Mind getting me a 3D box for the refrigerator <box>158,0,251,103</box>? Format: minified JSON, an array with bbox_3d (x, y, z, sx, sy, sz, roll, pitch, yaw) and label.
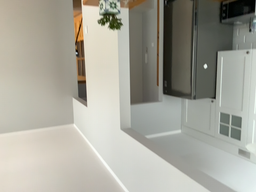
[{"bbox_3d":[1.030,-1.020,2.910,1.020,2.050,0.670,-5,-170,-27],"label":"refrigerator"}]
